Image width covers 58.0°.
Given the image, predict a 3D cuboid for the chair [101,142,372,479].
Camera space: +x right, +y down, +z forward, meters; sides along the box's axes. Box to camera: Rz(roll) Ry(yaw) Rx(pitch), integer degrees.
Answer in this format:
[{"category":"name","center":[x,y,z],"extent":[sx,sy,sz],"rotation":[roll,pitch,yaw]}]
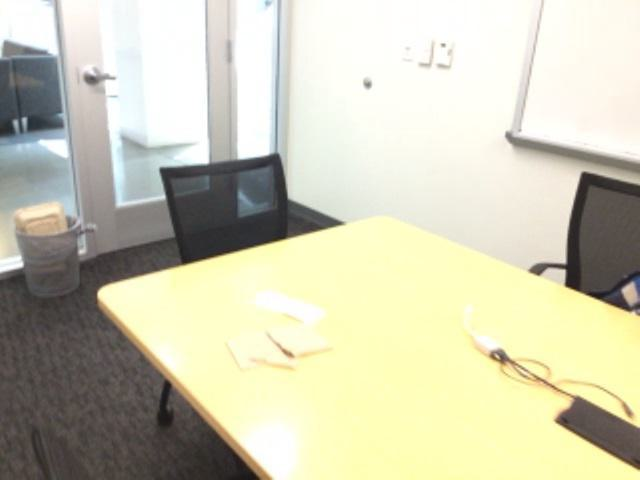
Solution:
[{"category":"chair","center":[-0.270,0.220,1.840],"extent":[0.580,0.910,0.540],"rotation":[-14,28,-36]}]

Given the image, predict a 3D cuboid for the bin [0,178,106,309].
[{"category":"bin","center":[-1.310,0.000,2.770],"extent":[0.410,0.470,0.340],"rotation":[-14,28,-36]}]

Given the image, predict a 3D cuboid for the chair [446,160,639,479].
[{"category":"chair","center":[0.820,0.280,1.700],"extent":[0.590,0.870,0.510],"rotation":[-14,28,-36]}]
